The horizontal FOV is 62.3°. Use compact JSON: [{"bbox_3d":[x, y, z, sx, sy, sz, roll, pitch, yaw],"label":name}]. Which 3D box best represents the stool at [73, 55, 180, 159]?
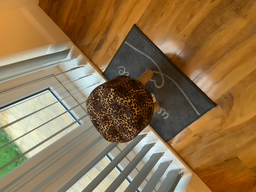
[{"bbox_3d":[0.000,0.040,1.110,0.320,0.370,0.290,47,130,7],"label":"stool"}]

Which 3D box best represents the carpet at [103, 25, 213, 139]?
[{"bbox_3d":[0.140,-0.060,1.230,0.560,0.050,0.390,49,130,6],"label":"carpet"}]
